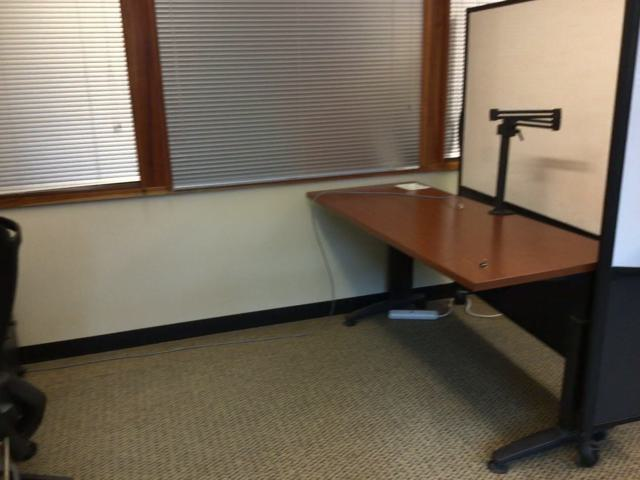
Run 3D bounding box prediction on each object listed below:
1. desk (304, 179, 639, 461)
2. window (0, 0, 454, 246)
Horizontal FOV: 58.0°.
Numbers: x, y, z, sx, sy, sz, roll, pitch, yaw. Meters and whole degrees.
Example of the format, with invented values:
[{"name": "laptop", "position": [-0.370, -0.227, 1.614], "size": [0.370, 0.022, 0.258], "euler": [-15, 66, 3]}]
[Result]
[{"name": "desk", "position": [0.550, 0.170, 2.490], "size": [0.750, 0.680, 1.430], "euler": [-9, 13, -20]}, {"name": "window", "position": [-0.620, -1.010, 2.640], "size": [2.620, 1.790, 0.300], "euler": [-9, 13, -19]}]
